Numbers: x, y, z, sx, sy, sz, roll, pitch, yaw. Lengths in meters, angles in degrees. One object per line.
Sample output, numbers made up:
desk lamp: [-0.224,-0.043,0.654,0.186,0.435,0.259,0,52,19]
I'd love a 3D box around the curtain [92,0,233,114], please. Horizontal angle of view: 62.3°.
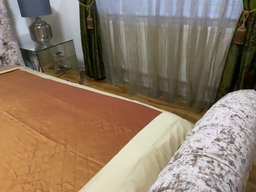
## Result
curtain: [0.250,-0.900,2.160,1.470,2.060,0.150,15,35,30]

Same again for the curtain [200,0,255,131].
curtain: [0.960,-0.710,1.610,0.540,2.140,0.210,16,35,32]

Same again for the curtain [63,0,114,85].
curtain: [-0.540,-1.180,2.590,0.530,2.150,0.180,15,35,31]
